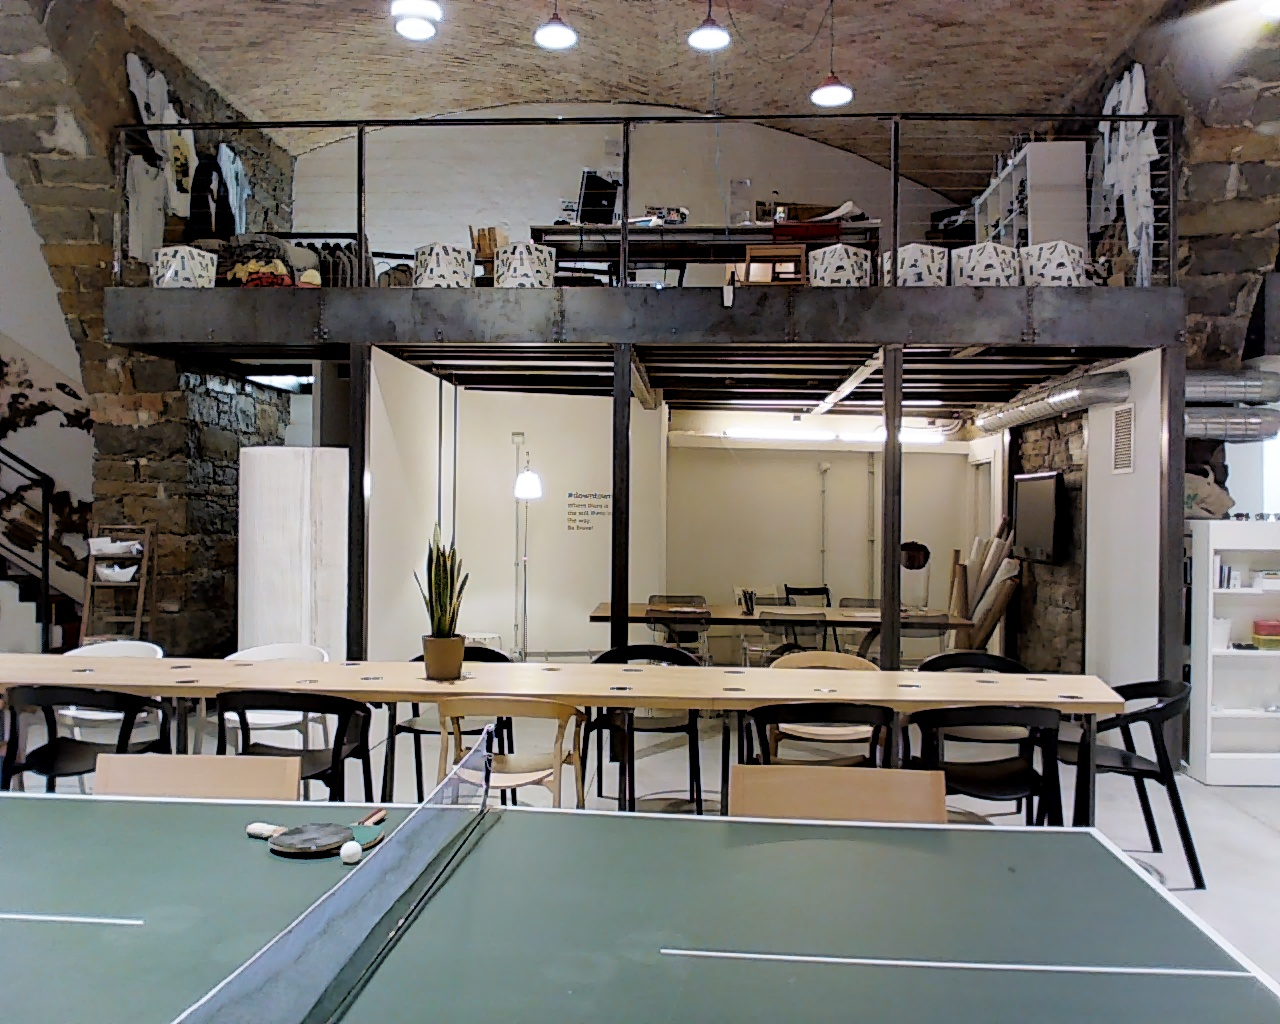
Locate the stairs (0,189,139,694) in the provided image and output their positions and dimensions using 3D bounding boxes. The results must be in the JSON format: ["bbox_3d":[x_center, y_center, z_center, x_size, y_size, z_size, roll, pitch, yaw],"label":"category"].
[{"bbox_3d":[-6.108,-0.540,8.260,3.959,3.791,1.050,1,0,-16],"label":"stairs"}]
